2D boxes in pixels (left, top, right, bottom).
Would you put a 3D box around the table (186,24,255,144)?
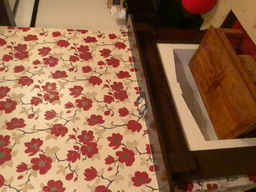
[{"bbox_3d":[1.070,-0.140,2.190,0.620,0.430,1.060,105,160,-53],"label":"table"}]
